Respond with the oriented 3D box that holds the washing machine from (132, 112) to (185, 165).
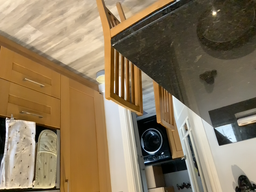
[{"bbox_3d":[0.600,0.890,4.290,0.710,0.850,0.640,-22,152,28],"label":"washing machine"}]
